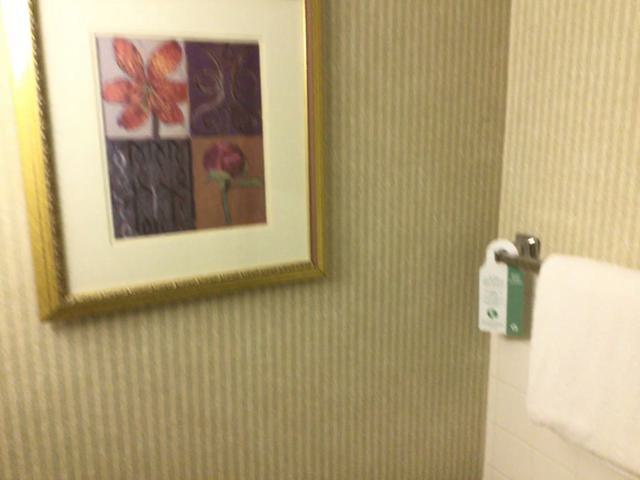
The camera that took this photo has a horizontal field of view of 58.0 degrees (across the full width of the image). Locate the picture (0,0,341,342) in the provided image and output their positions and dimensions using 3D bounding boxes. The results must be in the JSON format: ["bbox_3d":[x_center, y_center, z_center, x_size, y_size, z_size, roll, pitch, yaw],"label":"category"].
[{"bbox_3d":[-0.190,-0.150,0.880,0.490,0.540,0.040,-6,12,-27],"label":"picture"}]

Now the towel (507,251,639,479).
[{"bbox_3d":[0.470,0.220,0.940,0.130,0.350,0.290,-6,12,-27],"label":"towel"}]
